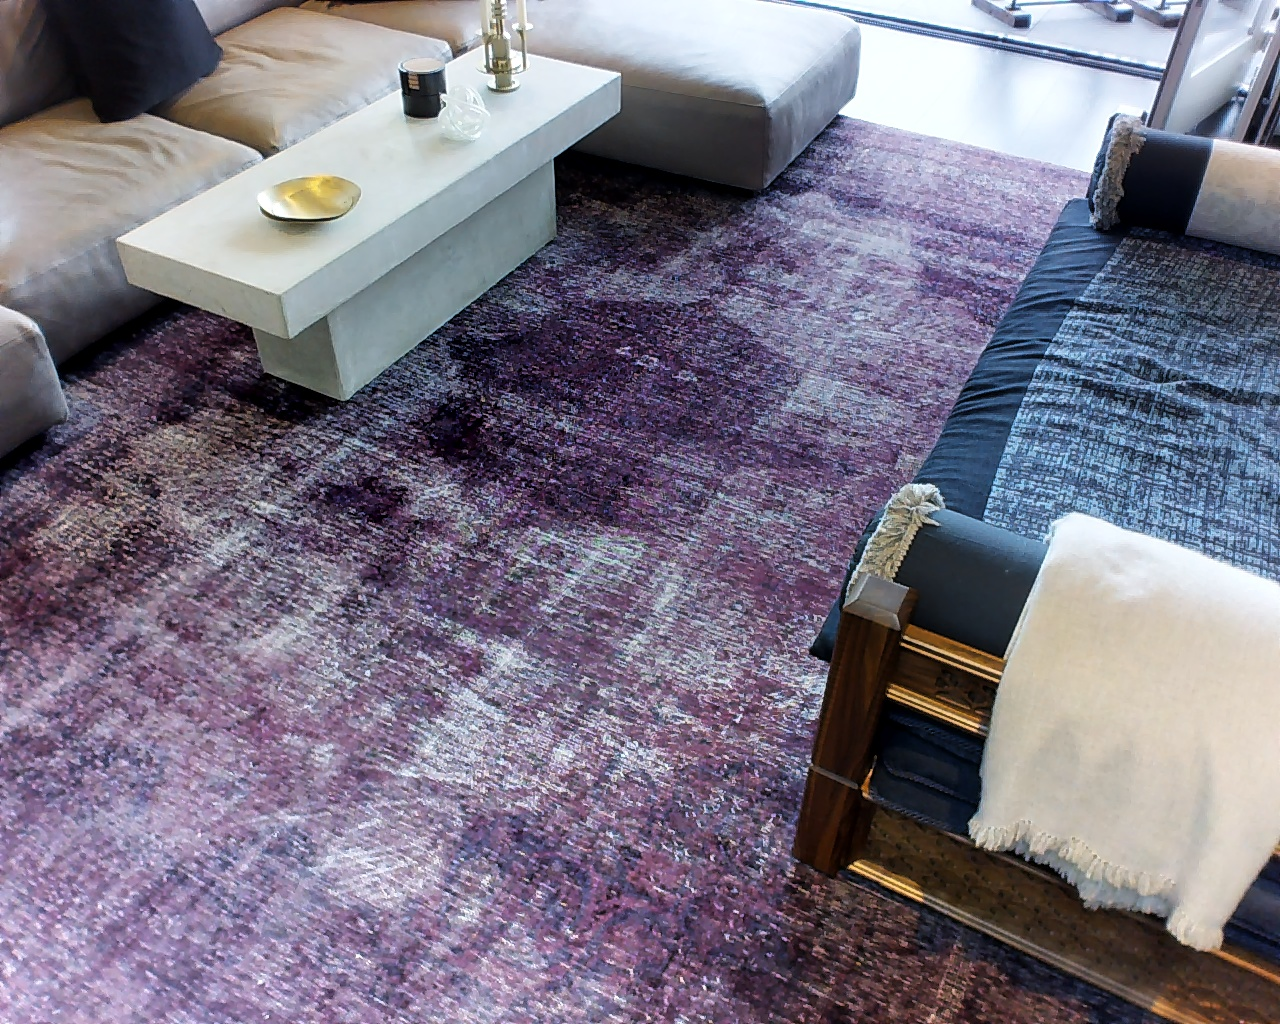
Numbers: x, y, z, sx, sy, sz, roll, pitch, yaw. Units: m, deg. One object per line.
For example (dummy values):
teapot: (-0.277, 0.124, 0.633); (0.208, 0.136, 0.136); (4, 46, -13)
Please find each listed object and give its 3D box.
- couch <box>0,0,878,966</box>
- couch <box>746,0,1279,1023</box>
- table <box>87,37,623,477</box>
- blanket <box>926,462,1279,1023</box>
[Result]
couch: (-1.030, -0.970, 2.840); (2.130, 0.710, 3.850); (20, 45, 20)
couch: (1.210, -0.120, 1.820); (1.320, 0.900, 1.860); (21, 46, 21)
table: (-0.610, -0.750, 2.810); (0.510, 0.460, 1.430); (20, 45, 20)
blanket: (0.640, 0.270, 1.350); (0.380, 0.390, 0.450); (18, 45, 18)
